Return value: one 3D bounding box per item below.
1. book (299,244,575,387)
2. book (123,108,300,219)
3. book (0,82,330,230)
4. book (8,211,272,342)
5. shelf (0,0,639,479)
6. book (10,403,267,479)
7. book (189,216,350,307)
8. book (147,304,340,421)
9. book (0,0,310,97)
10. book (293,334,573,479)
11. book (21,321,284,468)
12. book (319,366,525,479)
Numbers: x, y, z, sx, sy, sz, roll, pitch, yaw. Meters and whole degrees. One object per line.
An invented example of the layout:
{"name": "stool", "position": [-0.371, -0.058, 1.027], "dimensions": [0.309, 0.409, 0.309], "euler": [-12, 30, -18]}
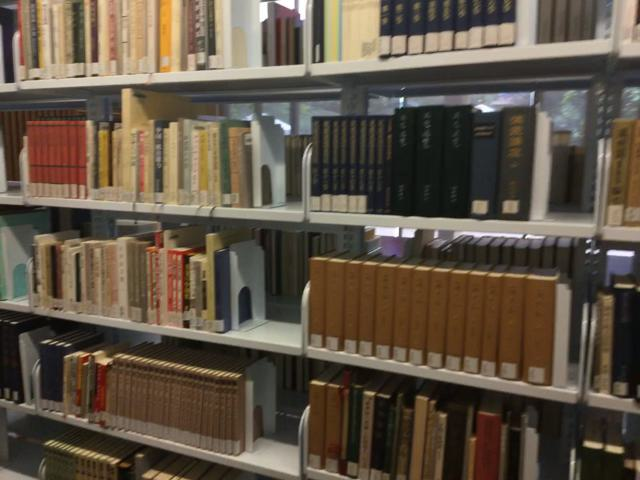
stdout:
{"name": "book", "position": [0.250, 0.150, 1.300], "dimensions": [0.570, 0.220, 0.170], "euler": [4, 8, 20]}
{"name": "book", "position": [-0.270, -0.200, 1.490], "dimensions": [0.360, 0.250, 0.260], "euler": [4, 8, 20]}
{"name": "book", "position": [-0.550, -0.240, 1.610], "dimensions": [1.130, 0.330, 0.250], "euler": [4, 8, 20]}
{"name": "book", "position": [-0.510, 0.080, 1.630], "dimensions": [0.720, 0.270, 0.220], "euler": [4, 8, 20]}
{"name": "shelf", "position": [-0.630, 0.070, 1.860], "dimensions": [3.950, 2.340, 0.690], "euler": [4, 8, 20]}
{"name": "book", "position": [-0.540, 0.770, 1.710], "dimensions": [0.750, 0.390, 0.200], "euler": [4, 8, 20]}
{"name": "book", "position": [-0.170, 0.060, 1.850], "dimensions": [0.530, 0.240, 0.070], "euler": [4, 8, 20]}
{"name": "book", "position": [-0.250, 0.380, 1.880], "dimensions": [0.590, 0.240, 0.210], "euler": [4, 8, 20]}
{"name": "book", "position": [-0.530, -0.540, 1.510], "dimensions": [1.020, 0.290, 0.160], "euler": [4, 8, 20]}
{"name": "book", "position": [0.260, 0.490, 1.390], "dimensions": [0.600, 0.400, 0.240], "euler": [4, 8, 20]}
{"name": "book", "position": [-0.490, 0.420, 1.670], "dimensions": [0.750, 0.240, 0.200], "euler": [4, 8, 20]}
{"name": "book", "position": [0.240, 0.460, 1.360], "dimensions": [0.440, 0.210, 0.190], "euler": [4, 8, 20]}
